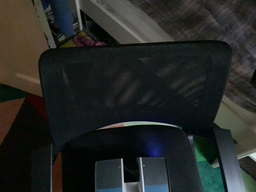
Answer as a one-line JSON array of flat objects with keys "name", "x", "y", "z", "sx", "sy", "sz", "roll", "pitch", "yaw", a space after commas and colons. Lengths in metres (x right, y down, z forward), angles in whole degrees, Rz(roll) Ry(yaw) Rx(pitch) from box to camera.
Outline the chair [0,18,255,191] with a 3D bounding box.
[{"name": "chair", "x": 0.070, "y": 0.340, "z": 0.760, "sx": 0.660, "sy": 0.980, "sz": 0.650, "roll": -2, "pitch": 64, "yaw": -6}]
